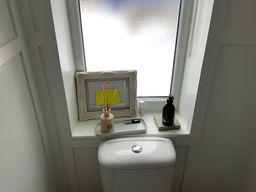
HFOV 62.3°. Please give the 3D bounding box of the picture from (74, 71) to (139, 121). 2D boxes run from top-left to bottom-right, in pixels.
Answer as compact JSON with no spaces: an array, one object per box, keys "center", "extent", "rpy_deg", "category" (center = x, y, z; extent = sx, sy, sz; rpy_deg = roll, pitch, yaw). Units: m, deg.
[{"center":[-0.120,0.010,1.160],"extent":[0.320,0.300,0.060],"rpy_deg":[2,43,-7],"category":"picture"}]
